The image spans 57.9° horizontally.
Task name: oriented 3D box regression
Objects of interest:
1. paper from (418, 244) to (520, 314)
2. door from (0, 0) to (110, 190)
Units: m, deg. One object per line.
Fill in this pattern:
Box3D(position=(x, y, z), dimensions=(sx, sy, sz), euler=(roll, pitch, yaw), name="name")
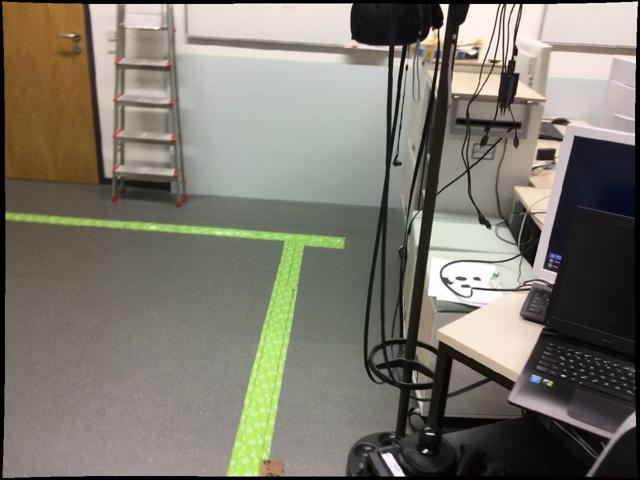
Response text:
Box3D(position=(0.480, 0.120, 1.920), dimensions=(0.270, 0.060, 0.360), euler=(2, 24, 3), name="paper")
Box3D(position=(-2.208, -1.492, 4.090), dimensions=(1.109, 2.312, 0.120), euler=(2, 24, 3), name="door")
